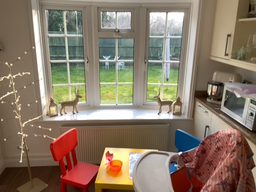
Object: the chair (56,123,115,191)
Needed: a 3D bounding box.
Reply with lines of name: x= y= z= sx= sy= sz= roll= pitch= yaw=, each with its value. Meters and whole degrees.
chair: x=-0.390 y=0.700 z=2.090 sx=0.380 sy=0.700 sz=0.430 roll=8 pitch=18 yaw=19
